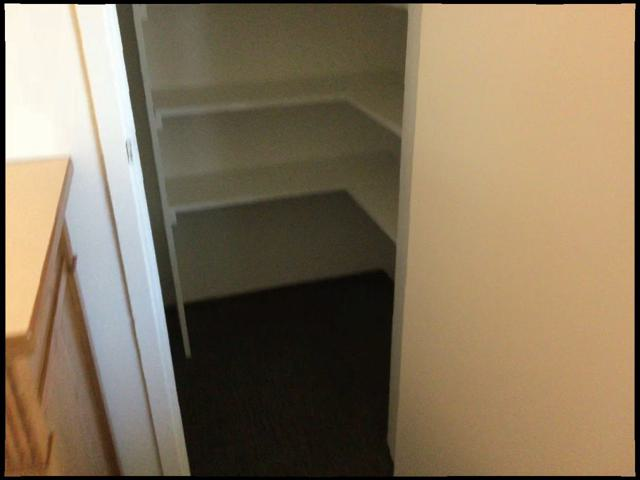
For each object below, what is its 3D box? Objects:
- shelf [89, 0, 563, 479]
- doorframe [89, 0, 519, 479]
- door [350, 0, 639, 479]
[{"bbox_3d":[-0.080,-0.401,1.770,1.028,1.913,0.980,-8,30,-16],"label":"shelf"},{"bbox_3d":[-0.040,-0.230,1.300,0.789,2.053,0.330,-8,30,-16],"label":"doorframe"},{"bbox_3d":[0.379,-0.110,1.030,0.110,2.063,0.800,-18,34,-31],"label":"door"}]
